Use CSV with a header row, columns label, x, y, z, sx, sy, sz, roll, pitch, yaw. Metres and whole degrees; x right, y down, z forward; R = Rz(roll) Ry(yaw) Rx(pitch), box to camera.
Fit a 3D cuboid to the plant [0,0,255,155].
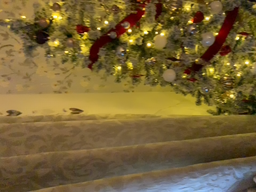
label,x,y,z,sx,sy,sz,roll,pitch,yaw
plant,0.150,-0.310,1.090,0.820,1.890,0.710,-128,42,-61
